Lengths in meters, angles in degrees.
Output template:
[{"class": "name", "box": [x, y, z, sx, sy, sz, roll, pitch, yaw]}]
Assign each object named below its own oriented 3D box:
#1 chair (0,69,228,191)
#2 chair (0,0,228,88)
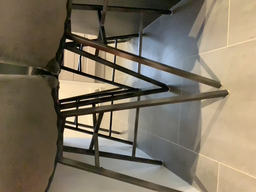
[{"class": "chair", "box": [-0.140, 0.170, 0.860, 0.430, 0.920, 0.460, -175, 88, -71]}, {"class": "chair", "box": [-0.120, -0.310, 0.880, 0.430, 0.920, 0.490, -175, 88, -71]}]
